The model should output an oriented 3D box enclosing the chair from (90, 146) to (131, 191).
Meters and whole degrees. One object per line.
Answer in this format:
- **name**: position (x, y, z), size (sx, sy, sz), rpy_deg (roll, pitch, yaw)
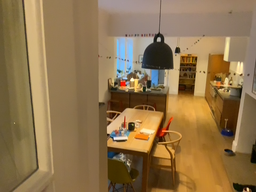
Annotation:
- **chair**: position (-0.230, 1.150, 2.870), size (0.390, 0.770, 0.430), rpy_deg (6, 14, 18)
